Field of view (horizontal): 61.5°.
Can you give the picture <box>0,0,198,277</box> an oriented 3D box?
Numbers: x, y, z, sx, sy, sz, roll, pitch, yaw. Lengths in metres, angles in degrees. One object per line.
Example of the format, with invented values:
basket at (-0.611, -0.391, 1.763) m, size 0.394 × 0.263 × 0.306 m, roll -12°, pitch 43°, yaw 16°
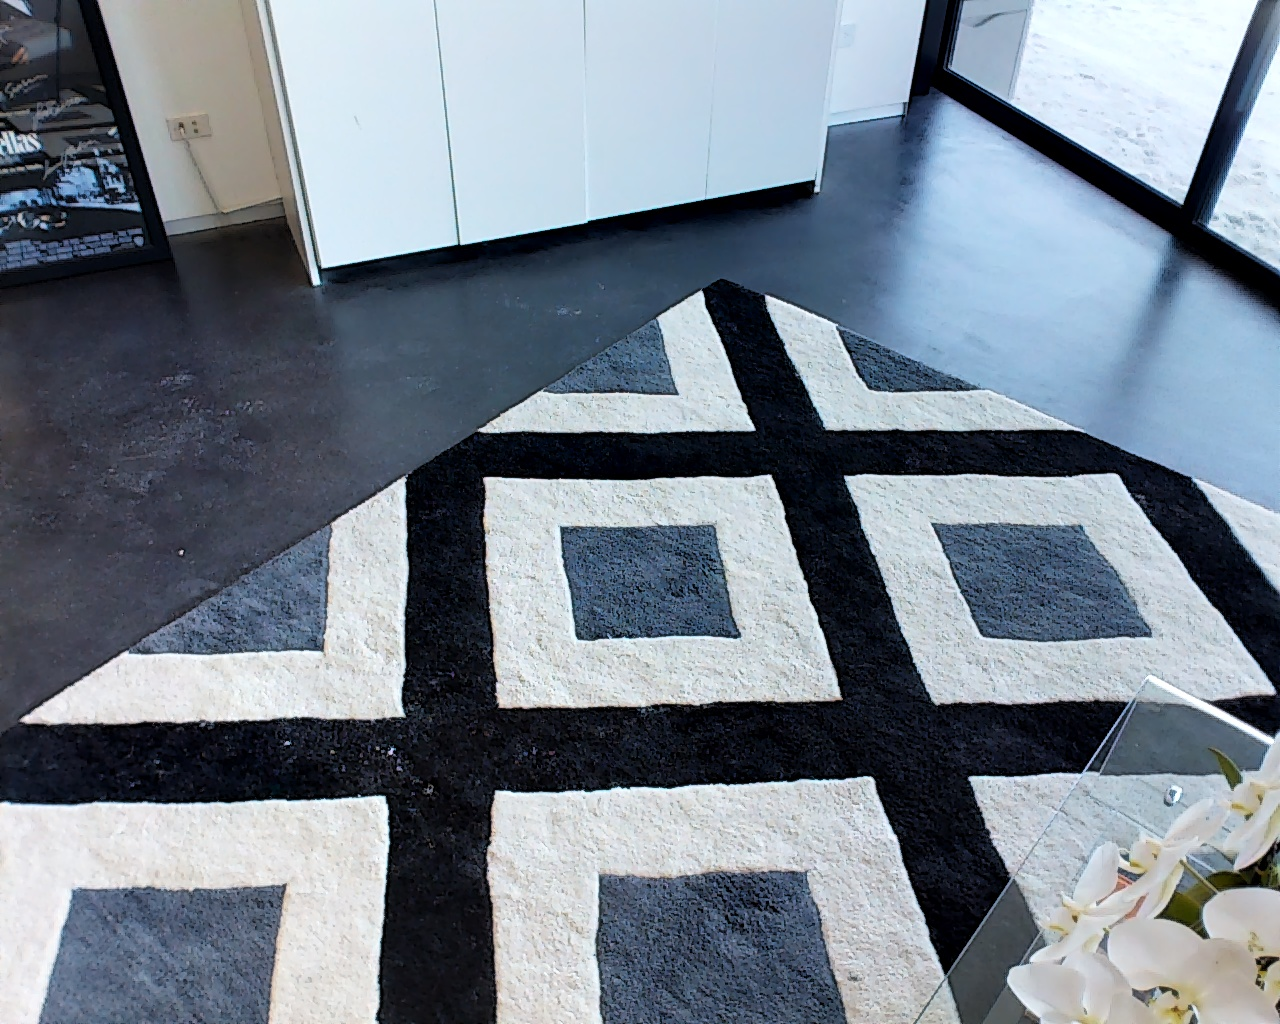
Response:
picture at (-1.750, -1.140, 2.820) m, size 0.850 × 1.050 × 0.150 m, roll -15°, pitch 45°, yaw -16°
